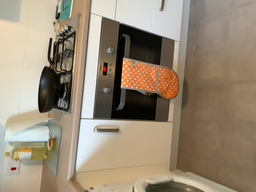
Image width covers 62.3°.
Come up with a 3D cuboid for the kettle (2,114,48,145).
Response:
[{"bbox_3d":[-0.720,0.230,1.490,0.150,0.260,0.180,1,86,56],"label":"kettle"}]
